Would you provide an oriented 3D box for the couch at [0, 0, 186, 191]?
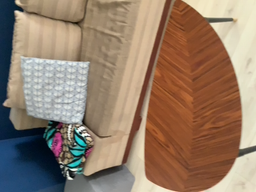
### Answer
[{"bbox_3d":[-0.350,-0.540,1.530,1.090,0.820,2.020,32,114,41],"label":"couch"}]
